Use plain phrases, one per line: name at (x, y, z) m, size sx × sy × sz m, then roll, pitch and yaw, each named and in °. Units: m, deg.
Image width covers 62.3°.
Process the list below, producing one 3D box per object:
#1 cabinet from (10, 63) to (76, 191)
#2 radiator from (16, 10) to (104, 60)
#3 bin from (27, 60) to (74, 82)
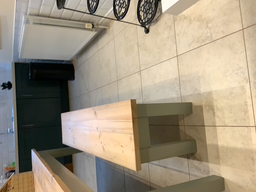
cabinet at (-1.600, 0.510, 3.940) m, size 0.620 × 0.940 × 2.110 m, roll -14°, pitch 80°, yaw 60°
radiator at (-0.910, -0.680, 2.640) m, size 1.170 × 0.810 × 0.100 m, roll -15°, pitch 79°, yaw 60°
bin at (-1.300, -0.410, 3.550) m, size 0.280 × 0.680 × 0.290 m, roll -18°, pitch 77°, yaw 59°
